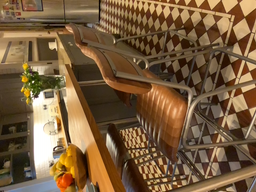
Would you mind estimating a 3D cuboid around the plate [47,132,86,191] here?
[{"bbox_3d":[-0.350,0.420,1.210,0.280,0.160,0.300,-134,42,-57],"label":"plate"}]

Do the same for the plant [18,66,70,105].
[{"bbox_3d":[-0.960,-0.130,2.450,0.300,0.500,0.310,-132,40,-55],"label":"plant"}]

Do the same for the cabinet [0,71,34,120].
[{"bbox_3d":[-2.440,-0.010,4.530,0.260,0.690,0.940,-131,40,-55],"label":"cabinet"}]
